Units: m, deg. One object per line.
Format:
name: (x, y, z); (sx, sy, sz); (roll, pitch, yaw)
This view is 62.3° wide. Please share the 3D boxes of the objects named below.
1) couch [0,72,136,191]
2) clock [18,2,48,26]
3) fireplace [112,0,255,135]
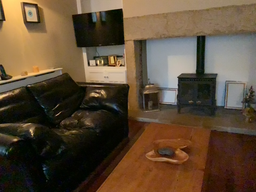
couch: (-0.790, 0.310, 2.290); (1.110, 0.820, 1.760); (4, 18, 25)
clock: (-1.310, -1.130, 2.950); (0.060, 0.290, 0.390); (4, 18, 25)
fireplace: (1.030, -0.440, 3.160); (2.260, 1.580, 0.910); (4, 17, 25)
